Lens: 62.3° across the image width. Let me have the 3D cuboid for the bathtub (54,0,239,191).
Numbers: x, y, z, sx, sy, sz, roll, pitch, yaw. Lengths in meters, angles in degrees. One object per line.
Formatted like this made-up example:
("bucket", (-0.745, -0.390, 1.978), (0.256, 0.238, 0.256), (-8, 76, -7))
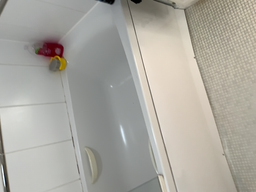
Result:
("bathtub", (0.120, 0.340, 1.330), (0.710, 0.580, 1.660), (-23, 77, 43))
